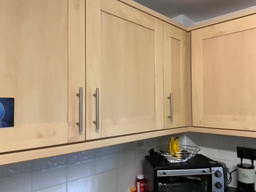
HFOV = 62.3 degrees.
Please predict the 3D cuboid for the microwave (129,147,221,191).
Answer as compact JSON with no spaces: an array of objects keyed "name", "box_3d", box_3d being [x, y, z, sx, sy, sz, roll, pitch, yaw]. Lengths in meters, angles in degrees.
[{"name":"microwave","box_3d":[0.290,0.550,1.520,0.560,0.270,0.460,0,-2,1]}]
